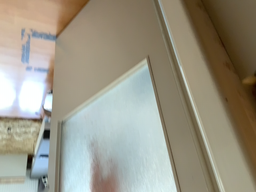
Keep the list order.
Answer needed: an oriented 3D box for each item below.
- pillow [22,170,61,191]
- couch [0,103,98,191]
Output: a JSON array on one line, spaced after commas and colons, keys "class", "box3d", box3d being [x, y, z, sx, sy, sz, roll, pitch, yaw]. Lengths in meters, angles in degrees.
[{"class": "pillow", "box3d": [-1.440, 1.460, 3.510, 0.470, 0.330, 0.570, 11, 144, -30]}, {"class": "couch", "box3d": [-1.250, 0.960, 3.000, 0.860, 0.720, 2.030, 11, 144, -29]}]
